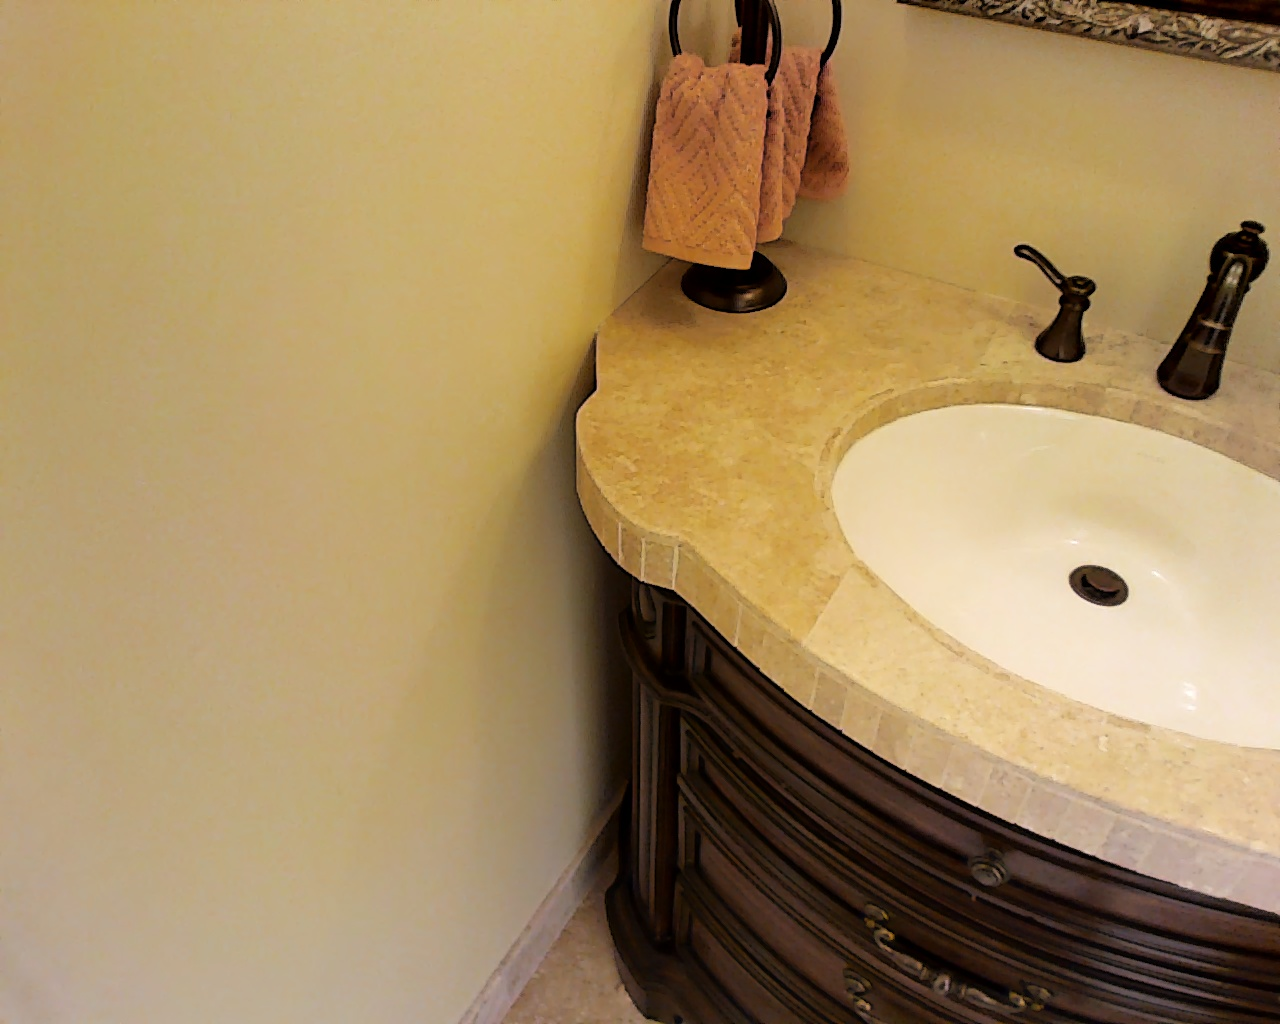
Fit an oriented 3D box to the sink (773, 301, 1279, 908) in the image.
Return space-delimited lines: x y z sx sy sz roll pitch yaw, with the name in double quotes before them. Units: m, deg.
"sink" 0.430 0.050 0.930 0.480 0.170 0.410 23 47 22
